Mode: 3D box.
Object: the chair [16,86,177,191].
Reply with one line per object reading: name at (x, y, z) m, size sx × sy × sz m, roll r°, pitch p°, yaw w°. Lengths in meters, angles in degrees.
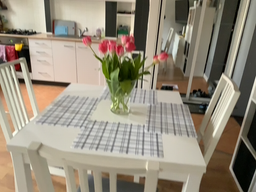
chair at (-0.080, 0.520, 0.950) m, size 0.410 × 0.980 × 0.520 m, roll 6°, pitch 22°, yaw 6°
